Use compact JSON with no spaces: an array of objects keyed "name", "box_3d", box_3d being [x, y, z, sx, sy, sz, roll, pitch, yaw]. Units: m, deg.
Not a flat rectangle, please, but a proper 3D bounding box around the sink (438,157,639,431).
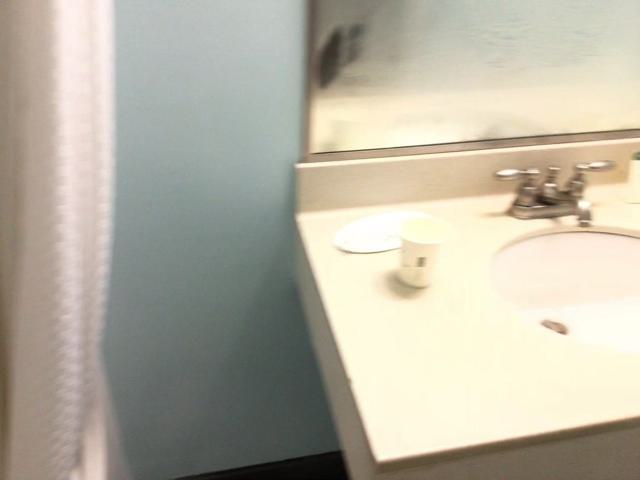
[{"name":"sink","box_3d":[0.460,0.070,1.000,0.370,0.290,0.340,-5,33,-11]}]
